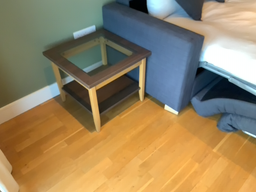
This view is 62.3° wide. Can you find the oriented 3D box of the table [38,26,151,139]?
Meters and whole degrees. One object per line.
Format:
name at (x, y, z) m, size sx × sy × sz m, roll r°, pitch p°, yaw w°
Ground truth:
table at (-0.270, -0.160, 1.840) m, size 0.610 × 0.540 × 0.660 m, roll -32°, pitch 50°, yaw -30°
